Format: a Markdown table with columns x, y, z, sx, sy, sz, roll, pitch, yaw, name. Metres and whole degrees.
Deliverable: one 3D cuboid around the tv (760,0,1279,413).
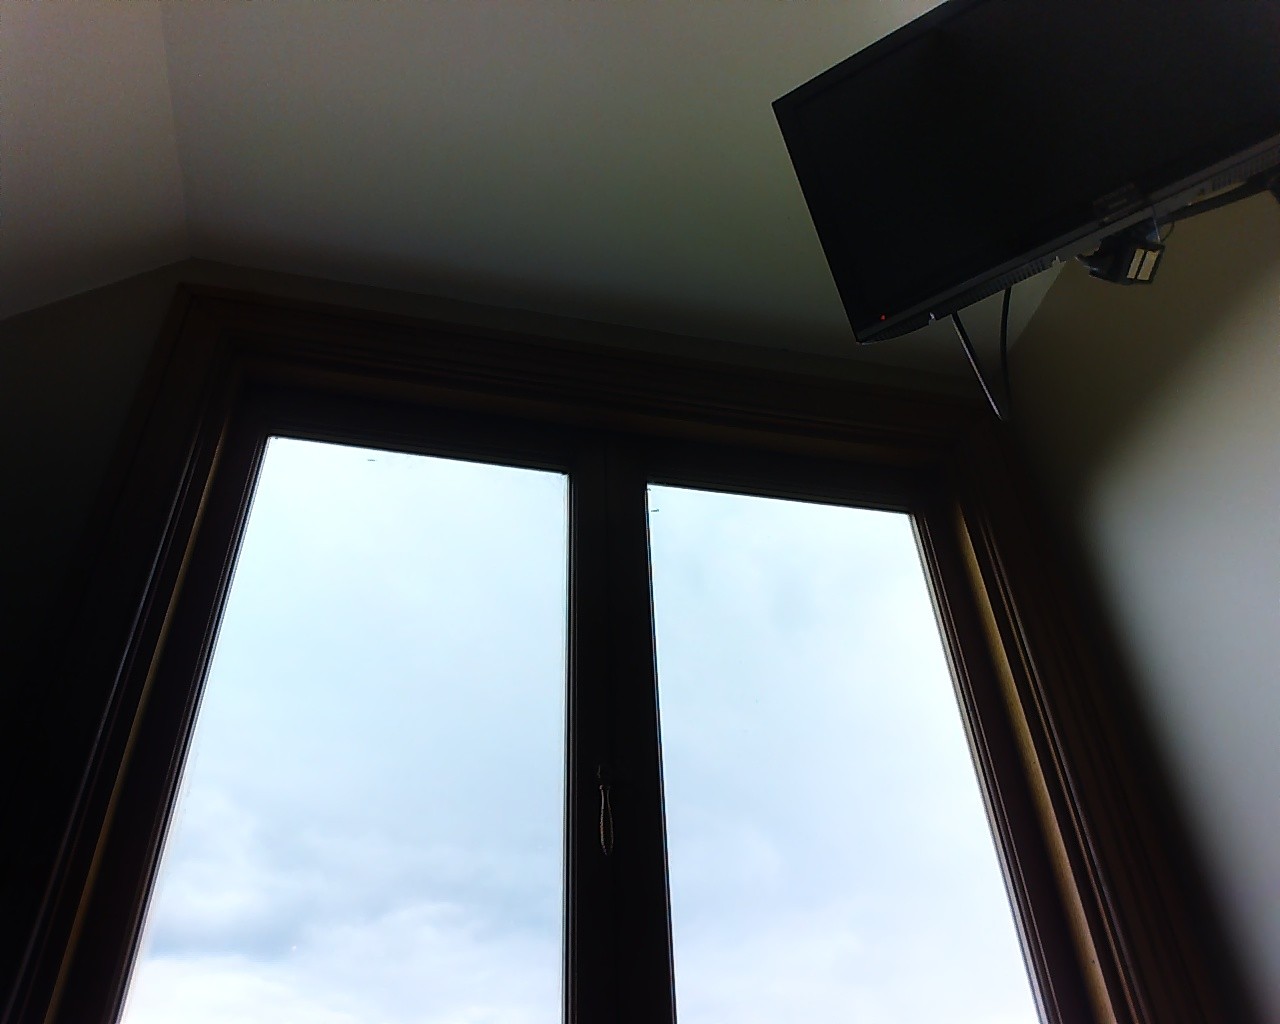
| x | y | z | sx | sy | sz | roll | pitch | yaw | name |
| --- | --- | --- | --- | --- | --- | --- | --- | --- | --- |
| 0.460 | -0.420 | 1.150 | 0.580 | 0.350 | 0.120 | -35 | -37 | 16 | tv |
